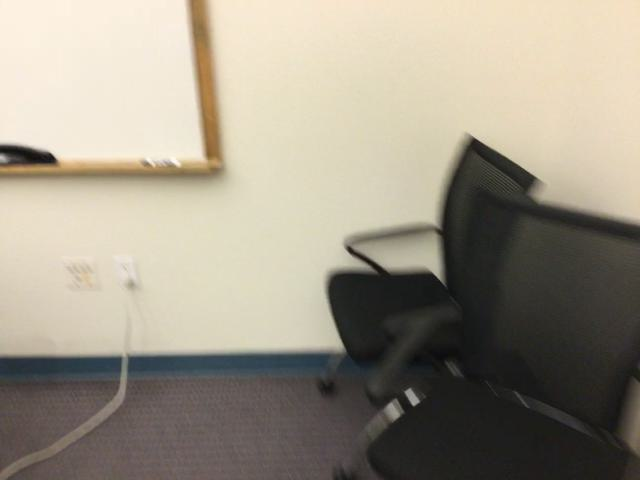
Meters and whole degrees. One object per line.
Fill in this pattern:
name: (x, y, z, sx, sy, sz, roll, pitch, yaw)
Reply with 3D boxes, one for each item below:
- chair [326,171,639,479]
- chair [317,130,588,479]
chair: (0.420, 0.400, 1.310, 0.570, 0.910, 0.570, 20, 29, 34)
chair: (0.310, 0.180, 1.800, 0.570, 0.900, 0.590, 1, 23, -4)
